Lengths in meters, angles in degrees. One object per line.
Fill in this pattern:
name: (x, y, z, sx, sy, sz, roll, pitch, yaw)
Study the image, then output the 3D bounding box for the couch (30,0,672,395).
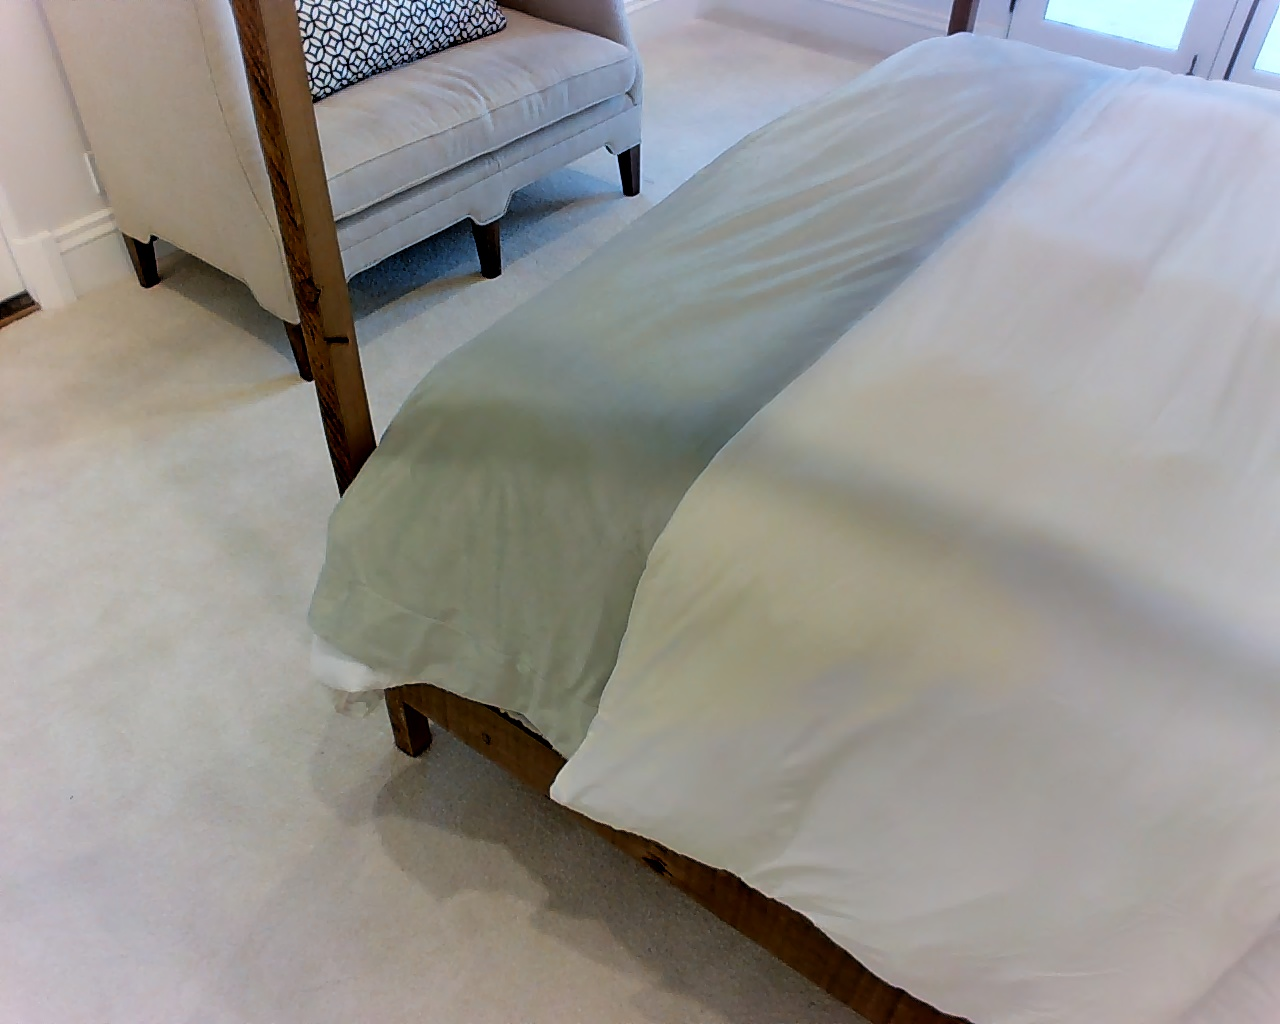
couch: (-0.700, -1.290, 2.940, 0.920, 1.180, 1.390, 29, 49, 26)
